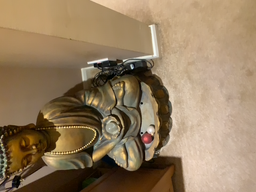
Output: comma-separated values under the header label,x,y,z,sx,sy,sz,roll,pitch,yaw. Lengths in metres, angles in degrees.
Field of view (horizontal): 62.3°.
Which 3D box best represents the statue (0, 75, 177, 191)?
label,x,y,z,sx,sy,sz,roll,pitch,yaw
statue,-0.200,0.160,1.050,0.580,0.880,0.440,-5,93,31
